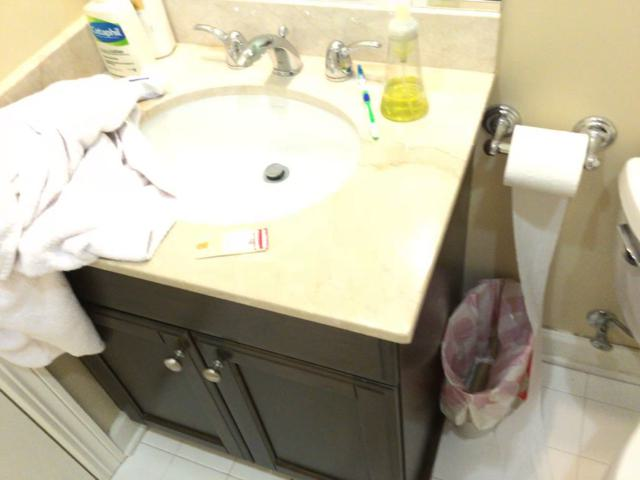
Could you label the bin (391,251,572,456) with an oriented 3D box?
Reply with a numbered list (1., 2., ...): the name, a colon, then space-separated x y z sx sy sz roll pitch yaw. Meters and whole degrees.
1. bin: 0.360 0.240 1.290 0.310 0.210 0.320 11 49 21
